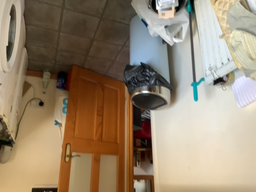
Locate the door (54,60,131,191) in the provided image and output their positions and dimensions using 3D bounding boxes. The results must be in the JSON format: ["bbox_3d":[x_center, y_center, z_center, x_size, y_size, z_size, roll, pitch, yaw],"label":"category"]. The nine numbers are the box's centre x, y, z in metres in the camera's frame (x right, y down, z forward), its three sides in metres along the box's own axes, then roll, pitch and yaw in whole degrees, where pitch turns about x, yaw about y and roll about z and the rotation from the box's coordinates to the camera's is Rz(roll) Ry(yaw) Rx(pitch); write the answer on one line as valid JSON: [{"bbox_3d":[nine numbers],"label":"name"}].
[{"bbox_3d":[-0.330,0.640,2.280,0.820,2.030,0.110,14,154,-34],"label":"door"}]
